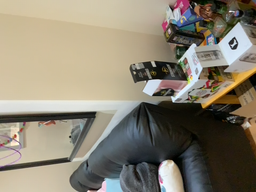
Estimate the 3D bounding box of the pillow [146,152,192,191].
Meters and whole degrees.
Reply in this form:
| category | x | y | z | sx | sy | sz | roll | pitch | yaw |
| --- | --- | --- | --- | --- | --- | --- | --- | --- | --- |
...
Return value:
| category | x | y | z | sx | sy | sz | roll | pitch | yaw |
| --- | --- | --- | --- | --- | --- | --- | --- | --- | --- |
| pillow | 0.240 | 0.530 | 1.200 | 0.160 | 0.170 | 0.380 | 136 | 130 | -58 |

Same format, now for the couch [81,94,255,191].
| category | x | y | z | sx | sy | sz | roll | pitch | yaw |
| --- | --- | --- | --- | --- | --- | --- | --- | --- | --- |
| couch | 0.220 | 0.740 | 1.820 | 1.590 | 0.900 | 0.830 | 127 | 138 | -53 |
